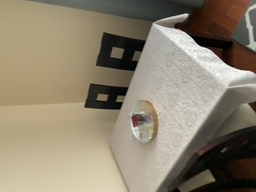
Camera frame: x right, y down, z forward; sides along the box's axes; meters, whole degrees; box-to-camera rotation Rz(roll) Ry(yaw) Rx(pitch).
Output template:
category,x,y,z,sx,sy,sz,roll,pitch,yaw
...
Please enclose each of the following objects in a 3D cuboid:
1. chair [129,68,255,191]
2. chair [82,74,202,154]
category,x,y,z,sx,sy,sz,roll,pitch,yaw
chair,0.580,0.180,1.300,0.530,0.930,0.440,58,138,41
chair,0.120,0.140,2.060,0.530,0.940,0.440,59,139,40
